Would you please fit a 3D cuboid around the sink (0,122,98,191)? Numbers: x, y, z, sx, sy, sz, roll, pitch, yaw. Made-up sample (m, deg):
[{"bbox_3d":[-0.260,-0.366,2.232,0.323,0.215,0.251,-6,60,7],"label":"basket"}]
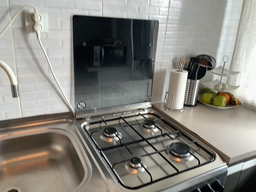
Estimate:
[{"bbox_3d":[-0.360,0.300,0.830,0.340,0.150,0.460,-7,24,-27],"label":"sink"}]
